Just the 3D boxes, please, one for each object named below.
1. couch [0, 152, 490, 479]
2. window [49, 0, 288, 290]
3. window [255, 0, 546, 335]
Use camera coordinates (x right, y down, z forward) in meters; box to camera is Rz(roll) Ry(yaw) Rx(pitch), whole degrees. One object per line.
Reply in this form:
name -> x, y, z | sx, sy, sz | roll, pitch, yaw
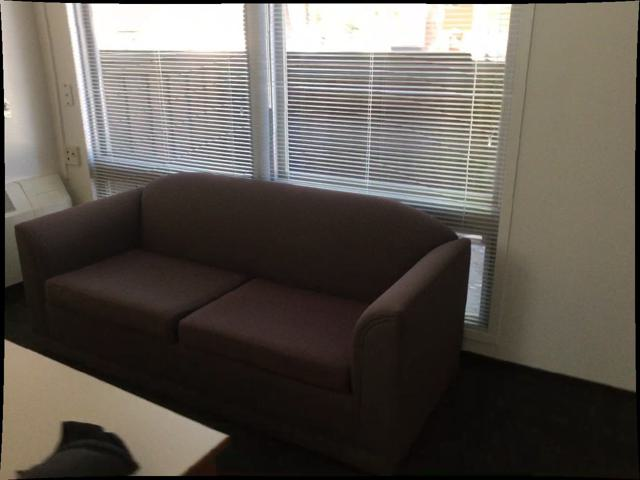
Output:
couch -> -0.329, 0.170, 2.590 | 1.828, 0.771, 1.120 | 10, 23, 27
window -> -0.809, -0.841, 3.060 | 1.199, 2.023, 0.370 | 10, 23, 27
window -> 0.319, -0.691, 2.550 | 1.149, 2.013, 0.410 | 10, 23, 27
